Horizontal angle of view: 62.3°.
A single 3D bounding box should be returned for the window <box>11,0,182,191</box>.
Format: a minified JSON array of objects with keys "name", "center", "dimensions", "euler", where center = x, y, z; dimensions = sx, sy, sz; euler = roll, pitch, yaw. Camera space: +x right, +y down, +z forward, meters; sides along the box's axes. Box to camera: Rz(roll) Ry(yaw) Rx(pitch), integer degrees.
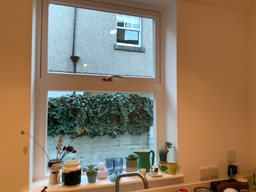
[{"name":"window","center":[-0.210,-0.120,1.740],"dimensions":[1.240,1.540,0.380],"euler":[1,-2,-18]}]
